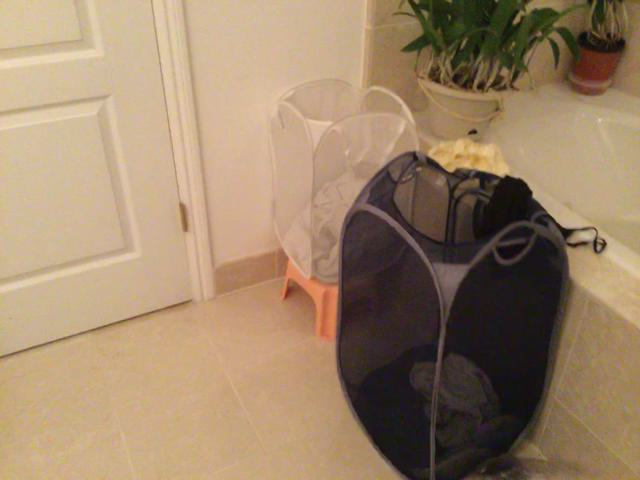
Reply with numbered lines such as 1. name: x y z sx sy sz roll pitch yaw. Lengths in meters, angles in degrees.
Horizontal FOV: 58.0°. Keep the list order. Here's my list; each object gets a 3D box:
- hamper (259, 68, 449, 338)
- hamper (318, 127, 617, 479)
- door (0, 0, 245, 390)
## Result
1. hamper: 0.100 -0.120 1.790 0.410 0.670 0.350 -17 35 -21
2. hamper: 0.290 0.180 1.360 0.410 0.710 0.430 -17 35 -21
3. door: -0.720 -0.380 1.330 0.810 1.640 0.090 -21 37 -18
